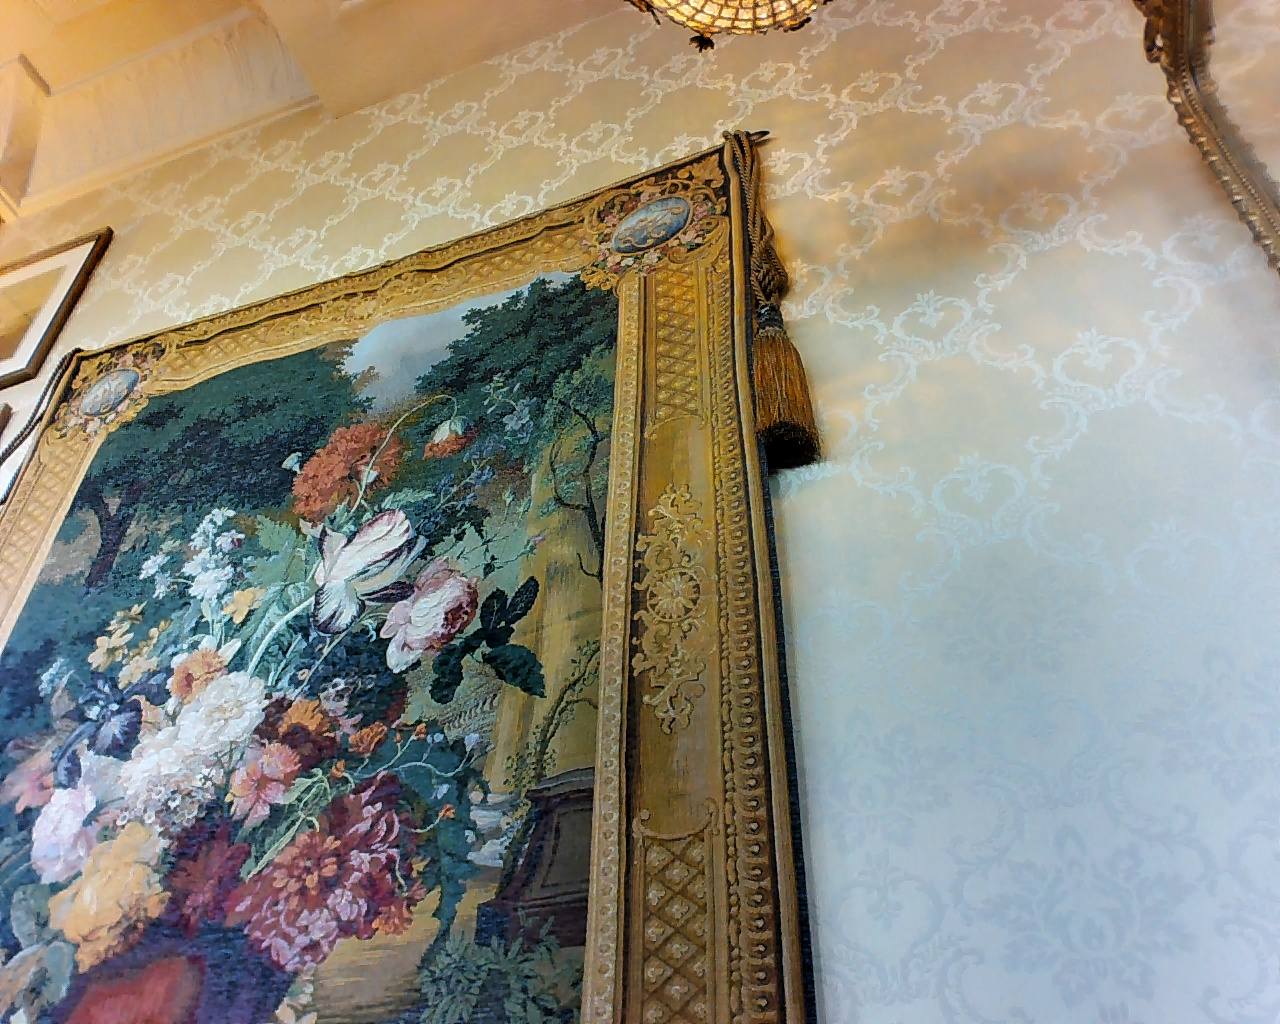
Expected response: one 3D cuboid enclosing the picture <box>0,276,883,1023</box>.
[{"bbox_3d":[-0.510,0.410,1.310,1.539,1.470,0.080,-13,-43,17],"label":"picture"}]
